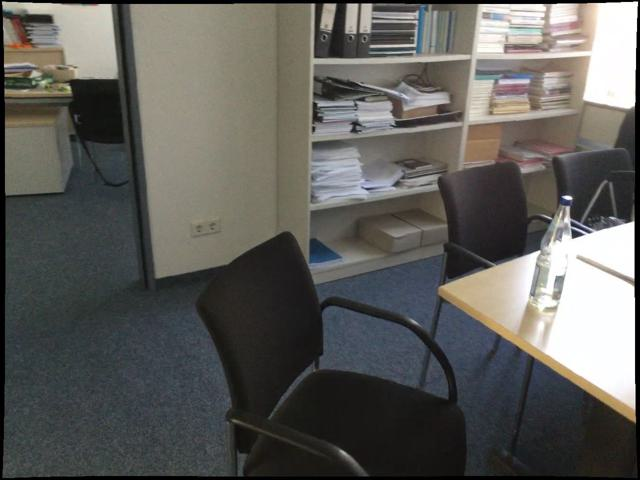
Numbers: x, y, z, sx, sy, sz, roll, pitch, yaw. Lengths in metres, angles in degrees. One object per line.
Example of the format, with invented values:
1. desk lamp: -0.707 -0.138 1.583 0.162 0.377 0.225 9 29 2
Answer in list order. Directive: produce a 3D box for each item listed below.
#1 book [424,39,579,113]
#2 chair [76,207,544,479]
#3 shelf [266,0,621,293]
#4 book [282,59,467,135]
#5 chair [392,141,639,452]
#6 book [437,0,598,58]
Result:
1. book: 1.059 -0.971 3.360 0.849 0.320 0.340 -14 29 -29
2. chair: 0.040 0.460 1.370 0.769 0.781 0.700 10 26 19
3. shelf: 0.719 -1.041 3.080 1.979 2.212 0.520 -13 29 -29
4. book: 0.290 -0.751 2.960 0.919 0.250 0.320 -14 29 -29
5. chair: 0.719 0.140 2.070 0.590 0.781 0.650 -13 29 -29
6. book: 1.119 -1.251 3.220 0.949 0.380 0.270 -14 29 -29
